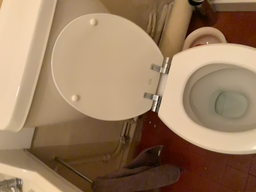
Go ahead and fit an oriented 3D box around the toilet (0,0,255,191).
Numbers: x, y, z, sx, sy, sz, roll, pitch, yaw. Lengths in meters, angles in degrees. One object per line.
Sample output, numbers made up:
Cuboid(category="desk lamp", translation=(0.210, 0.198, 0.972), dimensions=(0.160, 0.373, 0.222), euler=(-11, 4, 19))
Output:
Cuboid(category="toilet", translation=(0.160, -0.050, 0.780), dimensions=(0.770, 0.910, 0.510), euler=(13, 90, 35))
